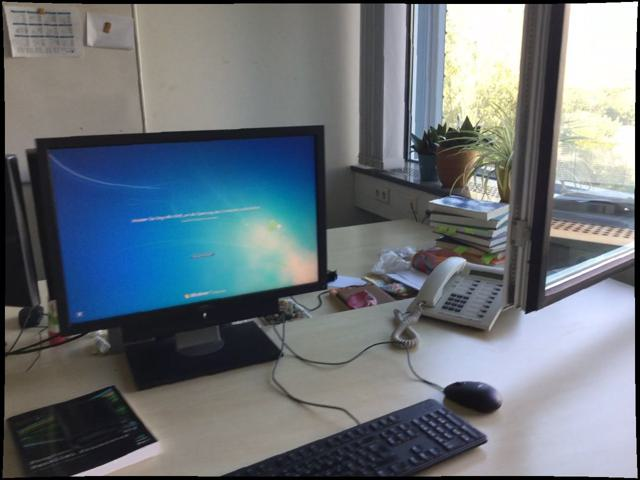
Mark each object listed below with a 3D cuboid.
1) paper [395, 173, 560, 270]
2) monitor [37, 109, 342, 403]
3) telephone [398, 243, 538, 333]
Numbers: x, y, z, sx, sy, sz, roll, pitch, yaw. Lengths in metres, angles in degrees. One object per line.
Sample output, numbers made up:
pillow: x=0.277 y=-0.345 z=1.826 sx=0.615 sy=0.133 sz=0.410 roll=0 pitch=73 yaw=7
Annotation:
paper: x=0.519 y=-0.080 z=1.960 sx=0.400 sy=0.200 sz=0.350 roll=-10 pitch=18 yaw=-20
monitor: x=-0.250 y=0.010 z=1.240 sx=0.550 sy=0.520 sz=0.170 roll=-10 pitch=18 yaw=-20
telephone: x=0.380 y=0.110 z=1.470 sx=0.260 sy=0.100 sz=0.270 roll=9 pitch=21 yaw=35
